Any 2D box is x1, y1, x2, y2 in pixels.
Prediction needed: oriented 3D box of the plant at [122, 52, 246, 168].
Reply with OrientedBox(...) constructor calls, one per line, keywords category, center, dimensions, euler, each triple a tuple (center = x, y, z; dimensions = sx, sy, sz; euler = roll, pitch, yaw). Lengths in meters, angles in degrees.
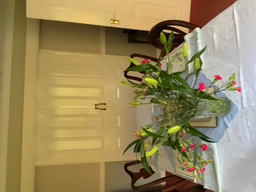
OrientedBox(category="plant", center=(0.240, 0.080, 1.050), dimensions=(0.320, 0.460, 0.460), euler=(146, 125, -70))
